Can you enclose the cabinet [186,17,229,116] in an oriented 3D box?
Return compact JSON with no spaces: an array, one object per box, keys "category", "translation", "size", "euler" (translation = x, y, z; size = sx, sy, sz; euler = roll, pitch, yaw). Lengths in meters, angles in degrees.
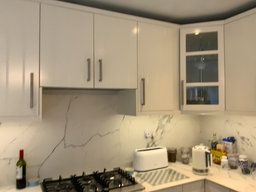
[{"category":"cabinet","translation":[0.870,-0.270,2.280],"size":[0.320,0.920,0.530],"euler":[-1,-1,32]}]
